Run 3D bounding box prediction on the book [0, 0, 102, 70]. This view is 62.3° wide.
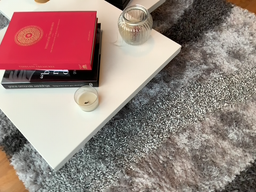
[{"bbox_3d":[-0.320,-0.260,0.830,0.400,0.150,0.280,0,59,2],"label":"book"}]
